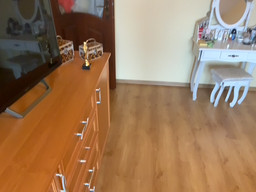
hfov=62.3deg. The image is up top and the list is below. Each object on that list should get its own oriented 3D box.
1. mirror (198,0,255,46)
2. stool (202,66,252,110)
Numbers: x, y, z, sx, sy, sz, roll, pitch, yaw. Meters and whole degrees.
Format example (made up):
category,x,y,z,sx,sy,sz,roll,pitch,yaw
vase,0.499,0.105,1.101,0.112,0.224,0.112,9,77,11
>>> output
category,x,y,z,sx,sy,sz,roll,pitch,yaw
mirror,1.240,-0.930,2.400,0.690,0.640,0.260,1,32,0
stool,1.160,-0.100,2.530,0.360,0.440,0.270,-1,32,-5
